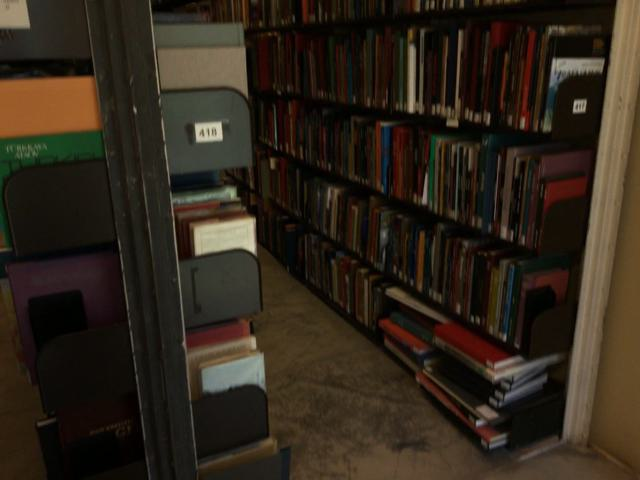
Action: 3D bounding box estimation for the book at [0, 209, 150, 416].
[{"bbox_3d":[-0.600,0.160,1.390,0.300,0.400,0.190,-10,21,-23],"label":"book"}]

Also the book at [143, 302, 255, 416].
[{"bbox_3d":[-0.320,0.310,1.540,0.250,0.210,0.130,-10,21,-23],"label":"book"}]

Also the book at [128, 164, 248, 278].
[{"bbox_3d":[-0.340,-0.060,1.480,0.240,0.210,0.220,-10,21,-23],"label":"book"}]

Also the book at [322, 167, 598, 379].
[{"bbox_3d":[0.470,0.030,2.530,0.340,0.420,1.430,-10,21,-23],"label":"book"}]

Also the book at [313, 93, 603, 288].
[{"bbox_3d":[0.420,-0.320,2.460,0.290,0.480,1.540,-10,21,-23],"label":"book"}]

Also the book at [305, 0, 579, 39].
[{"bbox_3d":[0.330,-1.020,2.240,0.170,0.430,1.560,-10,21,-23],"label":"book"}]

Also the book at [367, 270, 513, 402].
[{"bbox_3d":[0.510,0.400,2.580,0.390,0.310,0.530,-10,21,-23],"label":"book"}]

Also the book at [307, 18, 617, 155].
[{"bbox_3d":[0.410,-0.680,2.390,0.310,0.380,1.580,-10,21,-23],"label":"book"}]

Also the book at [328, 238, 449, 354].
[{"bbox_3d":[0.330,0.260,2.960,0.370,0.350,0.550,-10,21,-23],"label":"book"}]
